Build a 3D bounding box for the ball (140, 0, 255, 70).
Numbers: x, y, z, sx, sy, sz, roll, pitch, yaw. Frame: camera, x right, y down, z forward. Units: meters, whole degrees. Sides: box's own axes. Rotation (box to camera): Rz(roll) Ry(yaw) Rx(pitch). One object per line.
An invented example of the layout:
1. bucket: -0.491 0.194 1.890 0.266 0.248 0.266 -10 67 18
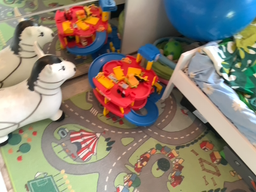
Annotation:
1. ball: 0.550 -0.640 1.280 0.640 0.500 0.600 -29 65 -26
